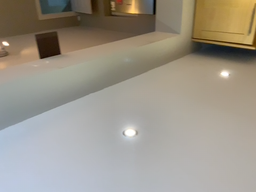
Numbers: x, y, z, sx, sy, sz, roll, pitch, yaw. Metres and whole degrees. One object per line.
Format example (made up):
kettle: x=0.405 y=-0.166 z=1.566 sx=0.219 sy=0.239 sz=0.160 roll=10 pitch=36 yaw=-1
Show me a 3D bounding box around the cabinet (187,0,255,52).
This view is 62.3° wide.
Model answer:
cabinet: x=1.090 y=-0.810 z=2.220 sx=0.630 sy=0.460 sz=0.650 roll=24 pitch=-144 yaw=39
